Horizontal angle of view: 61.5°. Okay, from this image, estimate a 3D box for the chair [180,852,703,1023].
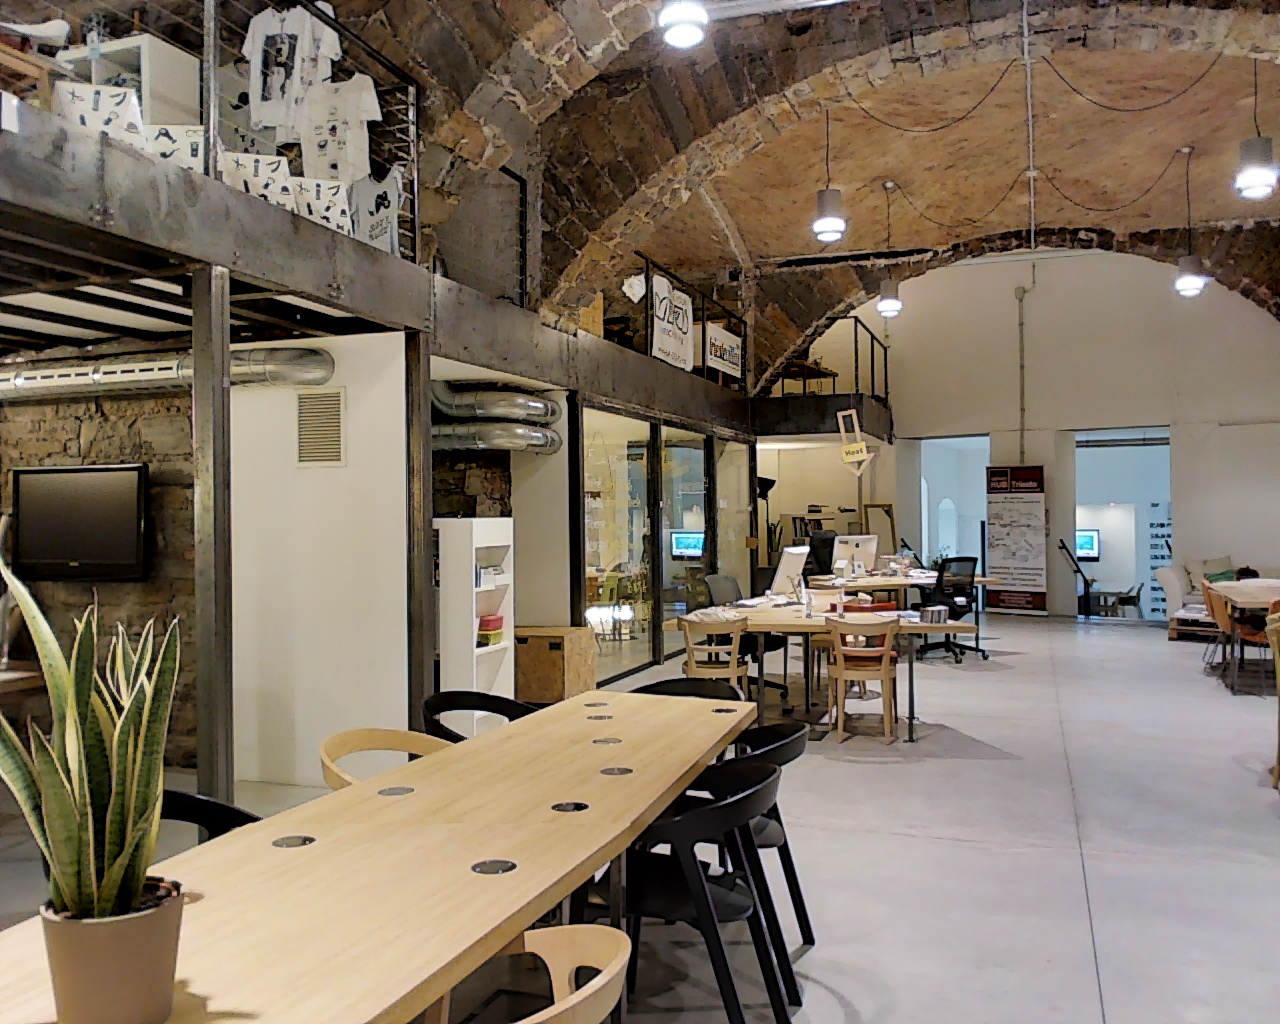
[{"bbox_3d":[-0.280,1.070,1.770,0.620,0.780,0.610,-1,0,20],"label":"chair"}]

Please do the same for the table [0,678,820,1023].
[{"bbox_3d":[-0.740,1.060,1.680,0.930,0.740,5.650,-1,0,21],"label":"table"}]

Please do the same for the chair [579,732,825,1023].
[{"bbox_3d":[0.190,1.050,2.910,0.530,0.770,0.570,-1,0,18],"label":"chair"}]
